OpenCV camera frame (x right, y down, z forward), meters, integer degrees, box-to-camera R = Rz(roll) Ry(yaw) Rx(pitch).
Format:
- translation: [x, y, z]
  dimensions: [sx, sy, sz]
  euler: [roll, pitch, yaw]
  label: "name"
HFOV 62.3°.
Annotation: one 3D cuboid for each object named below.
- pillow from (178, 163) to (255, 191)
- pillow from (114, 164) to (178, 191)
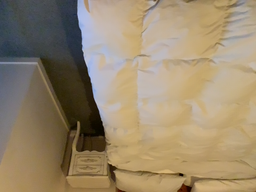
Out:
- translation: [0.930, 0.850, 2.110]
  dimensions: [0.740, 0.200, 0.420]
  euler: [2, 143, -3]
  label: "pillow"
- translation: [0.160, 0.860, 2.130]
  dimensions: [0.570, 0.200, 0.430]
  euler: [0, 143, 0]
  label: "pillow"
